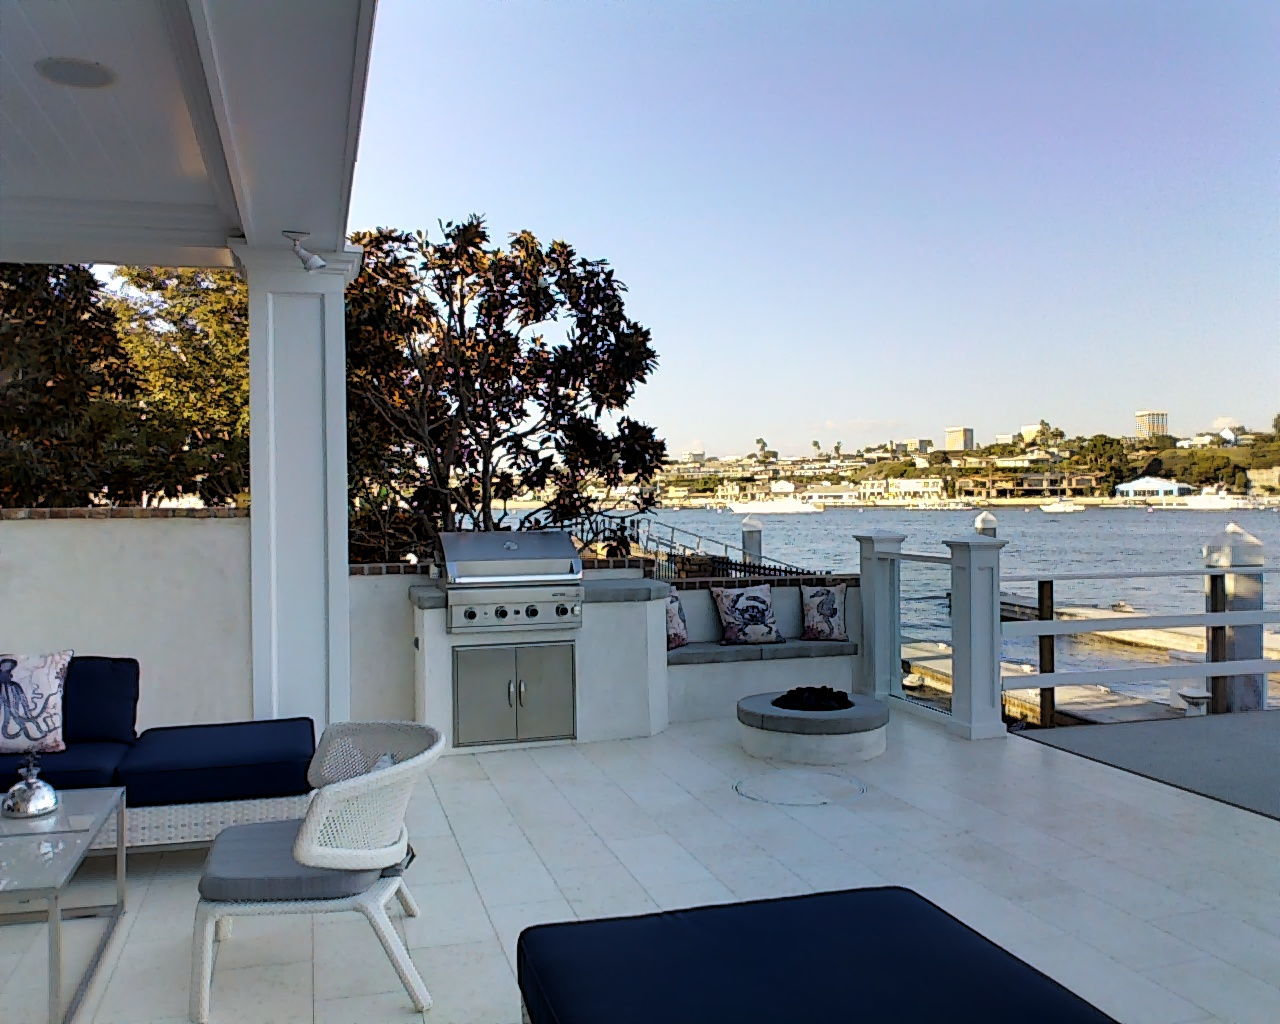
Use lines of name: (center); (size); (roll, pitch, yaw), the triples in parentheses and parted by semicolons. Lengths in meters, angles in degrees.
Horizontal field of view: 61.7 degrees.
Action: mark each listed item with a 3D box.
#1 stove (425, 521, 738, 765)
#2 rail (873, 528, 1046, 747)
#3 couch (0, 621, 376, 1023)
stove: (-0.400, 0.770, 6.920); (1.859, 1.391, 0.860); (-1, 0, -16)
rail: (2.079, 0.760, 7.150); (0.360, 1.281, 1.470); (-1, 0, -16)
couch: (-2.259, 1.020, 3.830); (2.469, 0.900, 2.710); (-1, 0, -15)
